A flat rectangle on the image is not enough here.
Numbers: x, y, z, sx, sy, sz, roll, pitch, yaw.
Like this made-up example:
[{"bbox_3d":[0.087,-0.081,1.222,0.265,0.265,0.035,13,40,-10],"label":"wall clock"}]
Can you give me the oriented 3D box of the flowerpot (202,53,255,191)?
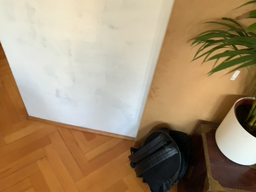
[{"bbox_3d":[0.630,0.080,0.850,0.340,0.780,0.320,12,48,0],"label":"flowerpot"}]
